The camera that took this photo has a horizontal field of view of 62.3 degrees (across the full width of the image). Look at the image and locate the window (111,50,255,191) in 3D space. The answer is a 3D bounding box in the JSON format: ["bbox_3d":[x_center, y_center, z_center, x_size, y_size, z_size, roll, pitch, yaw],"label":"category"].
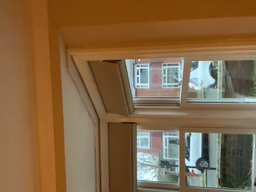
[{"bbox_3d":[0.680,0.800,2.210,0.930,1.460,2.400,-36,-55,-78],"label":"window"}]
